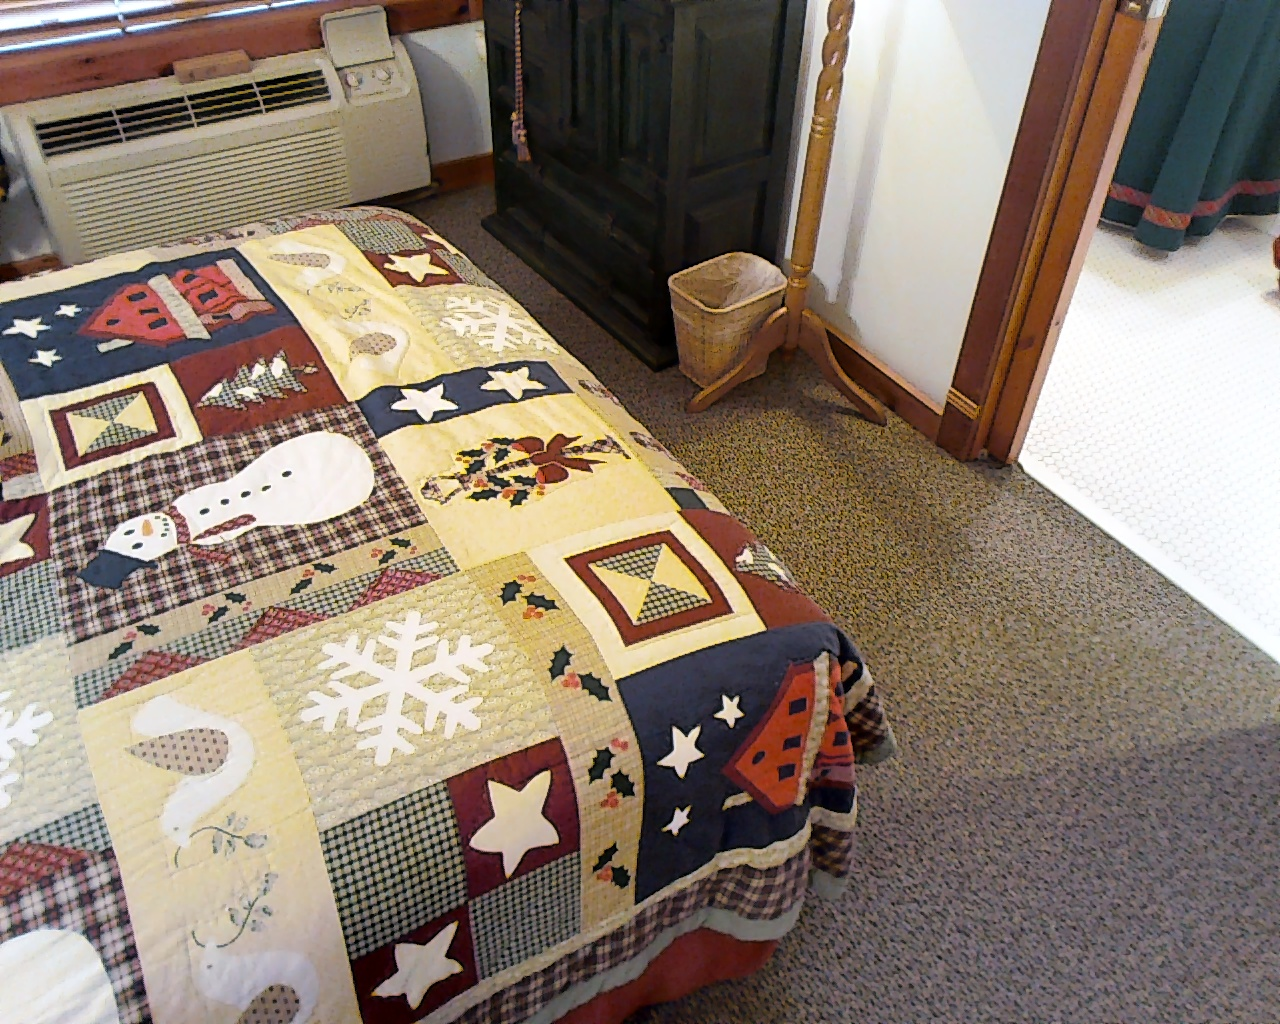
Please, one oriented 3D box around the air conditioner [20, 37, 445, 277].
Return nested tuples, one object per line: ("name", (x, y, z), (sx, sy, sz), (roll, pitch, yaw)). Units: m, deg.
("air conditioner", (-1.070, -0.990, 2.960), (1.010, 0.390, 0.220), (-21, 46, -22))
